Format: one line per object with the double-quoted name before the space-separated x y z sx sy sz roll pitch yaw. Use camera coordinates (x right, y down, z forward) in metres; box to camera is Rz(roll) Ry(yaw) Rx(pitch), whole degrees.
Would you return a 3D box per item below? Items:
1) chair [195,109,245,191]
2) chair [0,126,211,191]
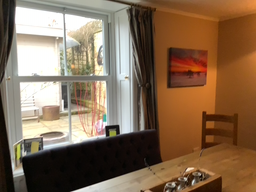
"chair" 1.000 0.700 2.350 0.440 1.040 0.490 1 6 22
"chair" -0.080 0.860 1.670 1.480 0.920 0.660 -5 7 -36
